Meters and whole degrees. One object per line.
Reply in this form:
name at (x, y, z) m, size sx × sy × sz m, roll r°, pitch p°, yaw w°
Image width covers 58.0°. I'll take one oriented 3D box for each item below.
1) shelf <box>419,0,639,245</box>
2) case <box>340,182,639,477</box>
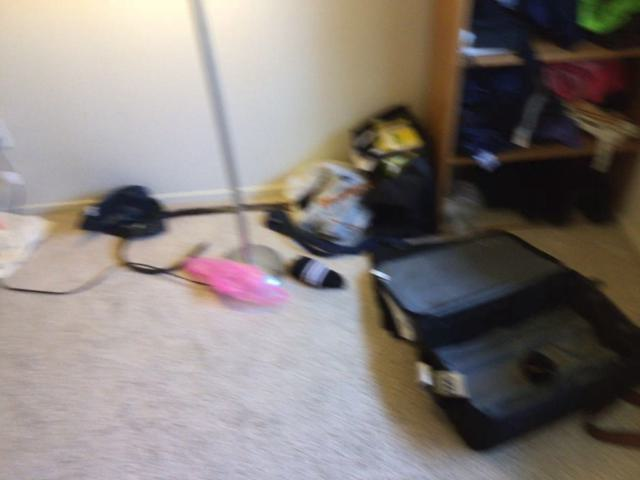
shelf at (0.680, -0.460, 1.780) m, size 0.620 × 0.890 × 0.350 m, roll -5°, pitch 42°, yaw -2°
case at (0.500, 0.190, 1.670) m, size 0.690 × 0.190 × 0.760 m, roll -12°, pitch 42°, yaw -10°
